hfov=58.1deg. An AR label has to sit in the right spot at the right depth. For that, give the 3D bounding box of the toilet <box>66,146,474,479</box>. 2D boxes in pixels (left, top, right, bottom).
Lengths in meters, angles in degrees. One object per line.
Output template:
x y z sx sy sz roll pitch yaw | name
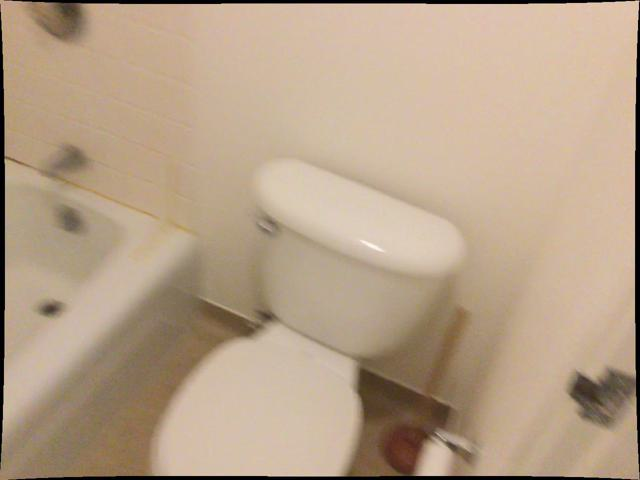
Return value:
-0.070 0.331 1.280 0.469 0.731 0.710 22 40 13 | toilet
